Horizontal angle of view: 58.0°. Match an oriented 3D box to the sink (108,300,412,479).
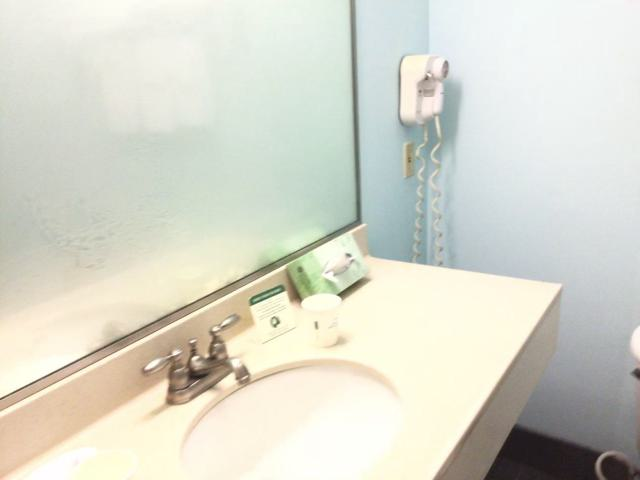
[{"bbox_3d":[-0.080,0.330,1.000,0.340,0.290,0.370,7,19,34],"label":"sink"}]
